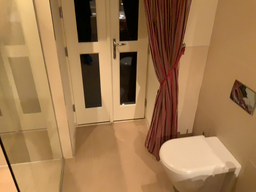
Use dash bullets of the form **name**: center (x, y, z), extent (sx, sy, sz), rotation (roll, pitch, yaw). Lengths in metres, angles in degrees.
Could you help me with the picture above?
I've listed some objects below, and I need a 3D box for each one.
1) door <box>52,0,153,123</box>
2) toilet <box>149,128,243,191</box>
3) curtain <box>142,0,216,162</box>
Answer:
- **door**: center (-0.230, -0.500, 2.220), extent (0.930, 1.790, 0.060), rotation (-4, 30, -9)
- **toilet**: center (0.520, 0.600, 1.780), extent (0.560, 0.440, 0.410), rotation (-5, 30, -11)
- **curtain**: center (0.380, -0.320, 1.780), extent (0.370, 2.020, 0.350), rotation (-3, 29, -6)
